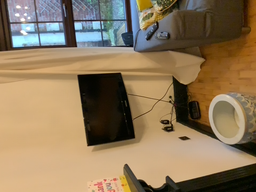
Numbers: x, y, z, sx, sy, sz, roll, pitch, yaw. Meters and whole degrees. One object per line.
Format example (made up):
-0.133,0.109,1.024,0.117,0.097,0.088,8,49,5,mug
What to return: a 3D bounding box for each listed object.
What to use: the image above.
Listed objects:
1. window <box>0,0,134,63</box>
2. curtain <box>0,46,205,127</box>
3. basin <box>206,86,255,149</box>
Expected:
-0.760,-1.380,2.270,0.250,1.490,1.920,-161,65,-72,window
-0.520,-0.110,2.070,0.560,2.530,0.520,-166,70,-73,curtain
0.880,0.130,1.600,0.520,0.270,0.370,-165,68,-73,basin
